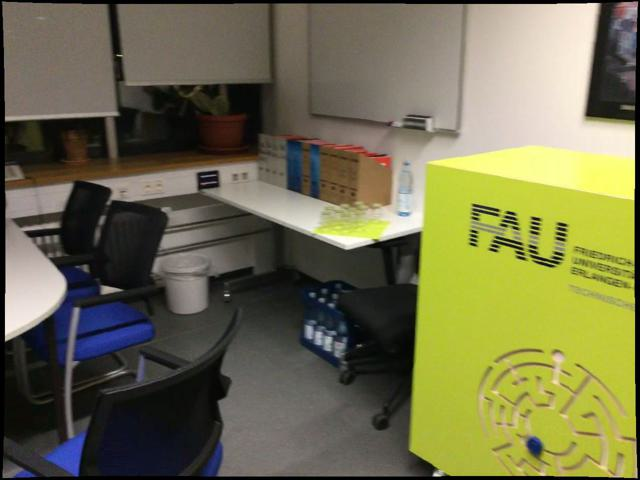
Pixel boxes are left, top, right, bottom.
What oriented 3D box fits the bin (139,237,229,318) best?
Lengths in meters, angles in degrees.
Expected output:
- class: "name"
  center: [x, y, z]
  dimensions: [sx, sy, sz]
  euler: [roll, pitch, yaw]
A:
- class: "bin"
  center: [-0.849, 0.220, 3.610]
  dimensions: [0.380, 0.310, 0.410]
  euler: [-15, 24, -37]
